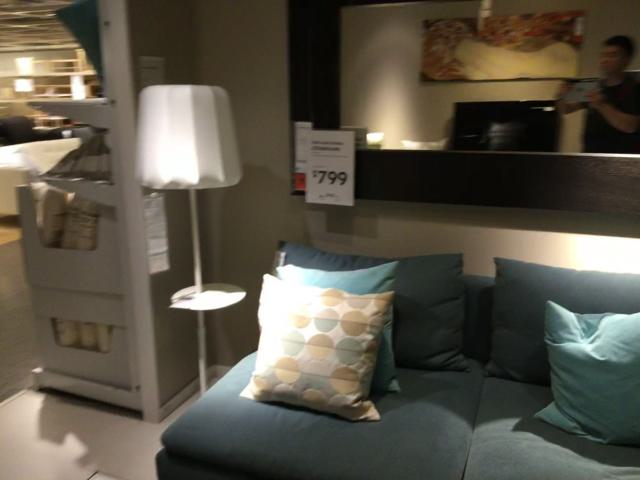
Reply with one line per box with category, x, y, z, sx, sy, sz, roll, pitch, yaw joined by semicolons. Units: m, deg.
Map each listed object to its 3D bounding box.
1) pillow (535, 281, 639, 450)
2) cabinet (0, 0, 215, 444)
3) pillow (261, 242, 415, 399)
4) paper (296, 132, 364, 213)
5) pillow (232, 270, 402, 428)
pillow;0.900;0.370;1.730;0.440;0.390;0.280;5;12;18
cabinet;-0.980;-0.160;2.550;0.810;1.800;0.580;6;12;23
pillow;0.060;0.270;2.090;0.490;0.440;0.230;6;12;23
paper;0.040;-0.280;2.350;0.240;0.310;0.120;6;12;23
pillow;-0.010;0.340;1.940;0.490;0.370;0.280;6;12;23
